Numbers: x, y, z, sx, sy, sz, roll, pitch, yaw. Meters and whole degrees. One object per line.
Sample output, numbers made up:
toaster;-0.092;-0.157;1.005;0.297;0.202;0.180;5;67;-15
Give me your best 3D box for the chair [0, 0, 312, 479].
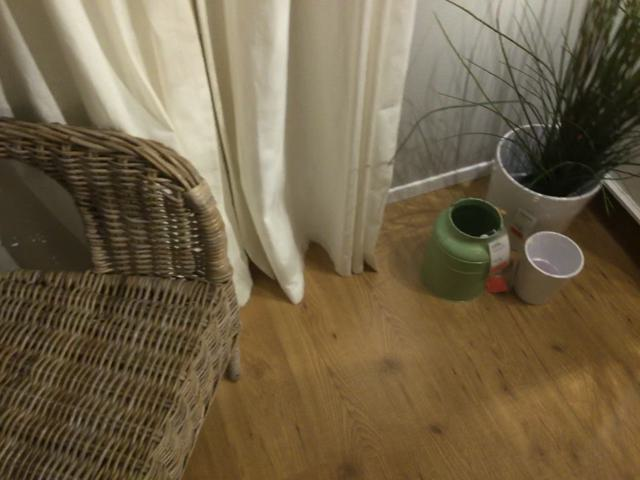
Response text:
chair;-0.470;0.160;0.930;0.630;0.910;0.750;19;52;17
